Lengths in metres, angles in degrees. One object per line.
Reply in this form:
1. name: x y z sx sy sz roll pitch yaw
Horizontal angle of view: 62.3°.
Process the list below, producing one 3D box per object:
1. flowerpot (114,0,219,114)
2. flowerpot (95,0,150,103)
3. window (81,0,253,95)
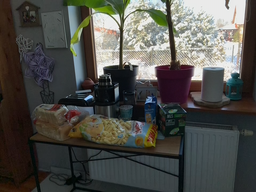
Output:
1. flowerpot: 0.290 -0.460 1.590 0.690 1.080 0.320 4 17 21
2. flowerpot: -0.030 -0.480 1.740 0.360 1.020 0.240 4 17 20
3. window: 0.250 -0.850 1.740 1.360 1.610 0.180 4 17 20
